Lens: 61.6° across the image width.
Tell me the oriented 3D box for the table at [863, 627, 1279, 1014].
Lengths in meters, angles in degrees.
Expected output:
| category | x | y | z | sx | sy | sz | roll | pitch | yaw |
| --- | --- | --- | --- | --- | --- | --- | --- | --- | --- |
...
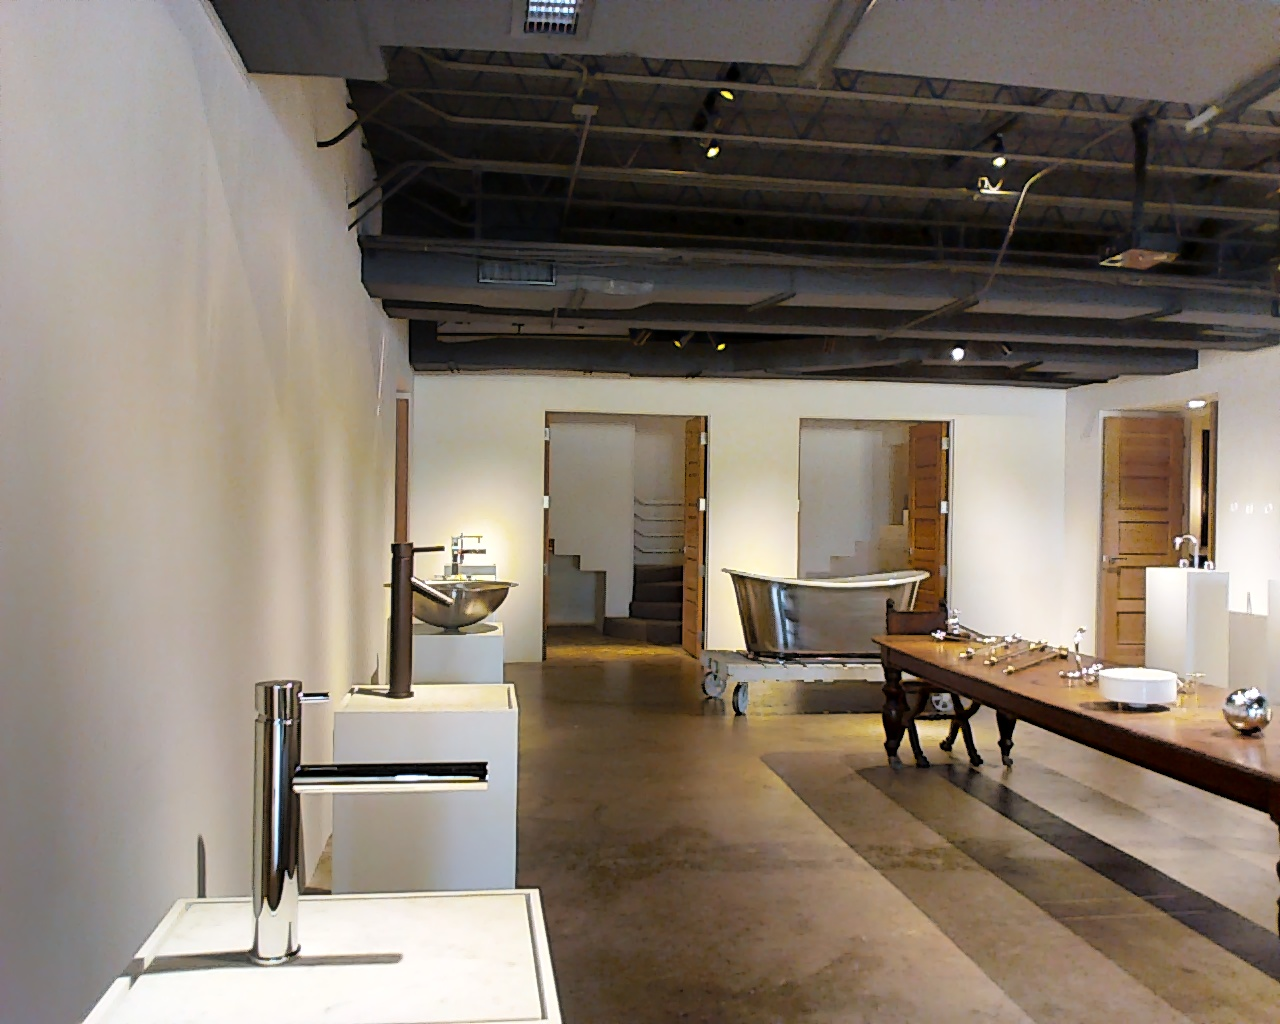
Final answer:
| category | x | y | z | sx | sy | sz | roll | pitch | yaw |
| --- | --- | --- | --- | --- | --- | --- | --- | --- | --- |
| table | 2.030 | 1.060 | 4.680 | 0.890 | 0.710 | 3.610 | 1 | 0 | -8 |
